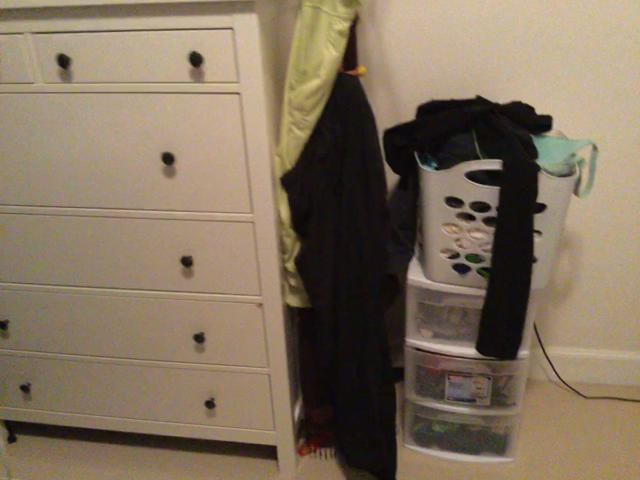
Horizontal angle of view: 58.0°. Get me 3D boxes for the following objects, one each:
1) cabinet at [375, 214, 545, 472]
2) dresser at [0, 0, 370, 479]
[{"bbox_3d":[0.410,0.290,1.710,0.400,0.600,0.420,-2,26,13],"label":"cabinet"},{"bbox_3d":[-0.550,-0.040,1.660,1.210,1.410,0.540,-2,26,13],"label":"dresser"}]
